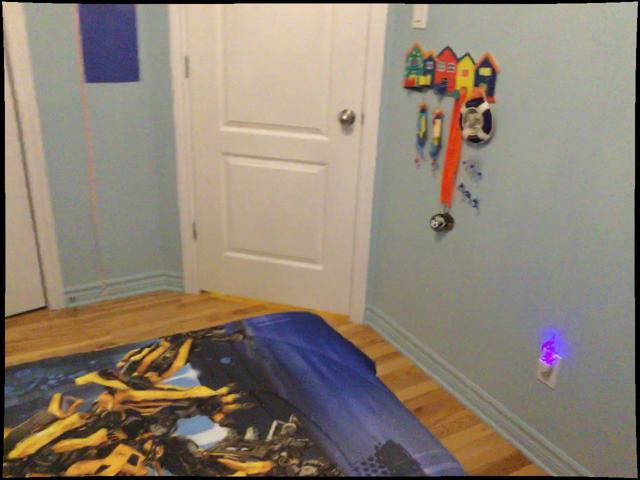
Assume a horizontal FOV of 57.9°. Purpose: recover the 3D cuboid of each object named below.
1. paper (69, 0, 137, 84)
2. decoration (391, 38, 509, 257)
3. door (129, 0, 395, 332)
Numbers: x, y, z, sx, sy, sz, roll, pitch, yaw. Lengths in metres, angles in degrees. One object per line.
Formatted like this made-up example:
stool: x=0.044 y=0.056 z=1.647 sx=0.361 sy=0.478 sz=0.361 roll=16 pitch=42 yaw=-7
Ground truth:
paper: x=-0.879 y=-0.931 z=2.310 sx=0.220 sy=0.580 sz=0.060 roll=-11 pitch=27 yaw=-27
decoration: x=0.420 y=-0.330 z=2.000 sx=0.060 sy=0.661 sz=0.440 roll=-11 pitch=27 yaw=-27
door: x=-0.240 y=-0.671 z=2.340 sx=1.009 sy=2.052 sz=0.260 roll=9 pitch=25 yaw=18
